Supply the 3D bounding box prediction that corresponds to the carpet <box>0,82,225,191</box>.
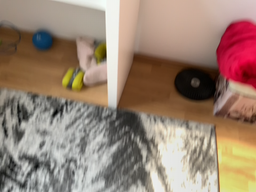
[{"bbox_3d":[-0.400,0.490,0.940,1.690,0.040,1.210,9,55,2],"label":"carpet"}]
